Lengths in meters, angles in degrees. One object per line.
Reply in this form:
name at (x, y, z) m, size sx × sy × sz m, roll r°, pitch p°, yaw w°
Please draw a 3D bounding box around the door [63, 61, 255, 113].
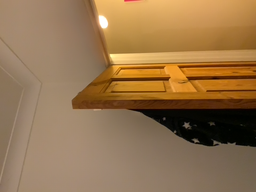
door at (0.830, -0.090, 0.990) m, size 0.840 × 2.010 × 0.030 m, roll -73°, pitch -18°, yaw -71°
